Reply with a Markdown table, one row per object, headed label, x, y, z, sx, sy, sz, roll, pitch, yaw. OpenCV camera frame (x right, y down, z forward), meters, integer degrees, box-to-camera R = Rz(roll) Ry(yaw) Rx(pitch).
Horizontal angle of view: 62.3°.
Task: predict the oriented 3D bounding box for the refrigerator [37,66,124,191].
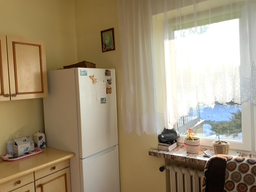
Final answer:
| label | x | y | z | sx | sy | sz | roll | pitch | yaw |
| --- | --- | --- | --- | --- | --- | --- | --- | --- | --- |
| refrigerator | -0.560 | 0.540 | 2.580 | 0.740 | 1.720 | 0.610 | 0 | 4 | 37 |
